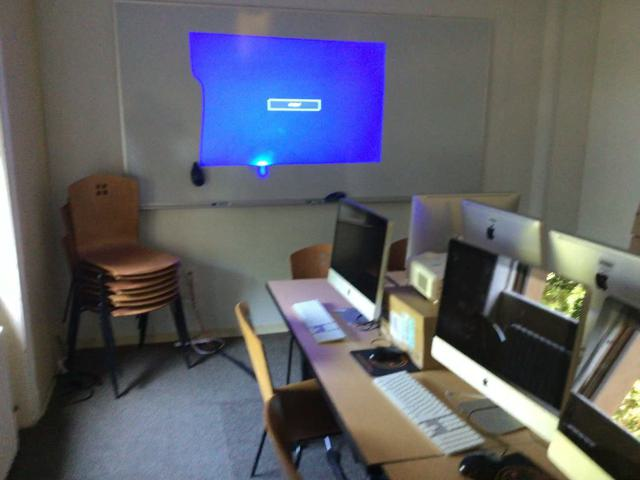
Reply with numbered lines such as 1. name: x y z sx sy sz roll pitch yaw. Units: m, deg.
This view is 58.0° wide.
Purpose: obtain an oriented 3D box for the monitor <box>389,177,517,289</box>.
1. monitor: 0.600 -0.040 2.630 0.540 0.450 0.150 -4 15 -16

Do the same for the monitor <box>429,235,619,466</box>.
1. monitor: 0.480 0.240 1.490 0.130 0.390 0.540 -5 15 -18

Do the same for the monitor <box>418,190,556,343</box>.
1. monitor: 0.610 0.070 2.230 0.210 0.440 0.570 -4 14 -16
